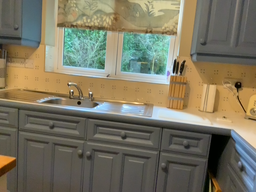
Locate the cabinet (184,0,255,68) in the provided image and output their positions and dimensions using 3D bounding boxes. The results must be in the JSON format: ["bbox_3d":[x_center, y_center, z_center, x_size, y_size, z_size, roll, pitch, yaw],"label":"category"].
[{"bbox_3d":[0.760,-0.640,1.600,0.510,0.810,0.460,6,9,7],"label":"cabinet"}]
